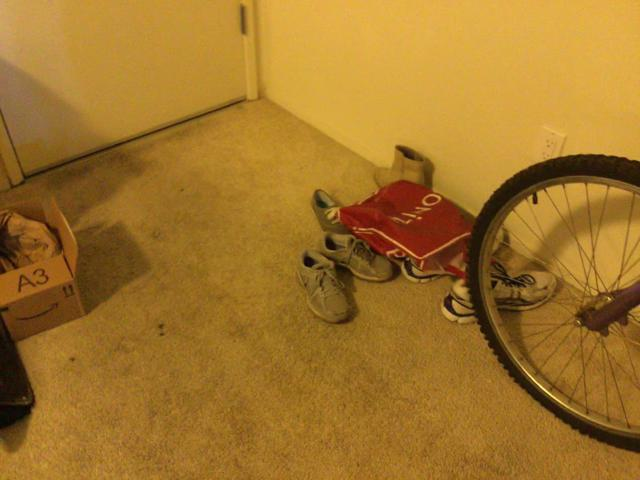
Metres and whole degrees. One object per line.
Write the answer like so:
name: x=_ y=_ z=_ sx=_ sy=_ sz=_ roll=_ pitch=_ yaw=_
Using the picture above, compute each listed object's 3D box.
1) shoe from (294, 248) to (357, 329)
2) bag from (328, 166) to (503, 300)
shoe: x=0.010 y=0.130 z=1.600 sx=0.140 sy=0.100 sz=0.210 roll=-2 pitch=38 yaw=-8
bag: x=0.270 y=-0.040 z=1.700 sx=0.300 sy=0.120 sz=0.400 roll=-24 pitch=45 yaw=-32
